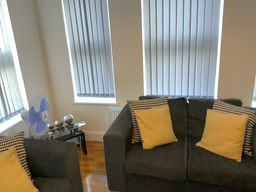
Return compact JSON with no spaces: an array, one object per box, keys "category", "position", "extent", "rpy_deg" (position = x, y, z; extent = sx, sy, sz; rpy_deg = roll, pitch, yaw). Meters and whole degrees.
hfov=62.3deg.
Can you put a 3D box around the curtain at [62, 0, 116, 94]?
[{"category":"curtain","position":[-0.490,-0.700,2.740],"extent":[0.590,1.370,0.110],"rpy_deg":[2,19,16]}]

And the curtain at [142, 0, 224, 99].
[{"category":"curtain","position":[0.600,-0.670,2.440],"extent":[0.860,1.450,0.030],"rpy_deg":[2,19,16]}]
